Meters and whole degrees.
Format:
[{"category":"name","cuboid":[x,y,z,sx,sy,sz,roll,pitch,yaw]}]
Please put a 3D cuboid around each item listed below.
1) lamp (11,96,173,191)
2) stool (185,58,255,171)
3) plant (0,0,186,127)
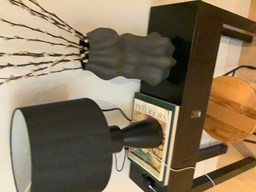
[{"category":"lamp","cuboid":[-0.110,0.160,0.770,0.190,0.530,0.280,20,107,52]},{"category":"stool","cuboid":[0.650,0.060,1.130,0.370,0.470,0.420,28,114,50]},{"category":"plant","cuboid":[-0.180,-0.110,0.640,0.210,0.740,0.310,26,112,51]}]
